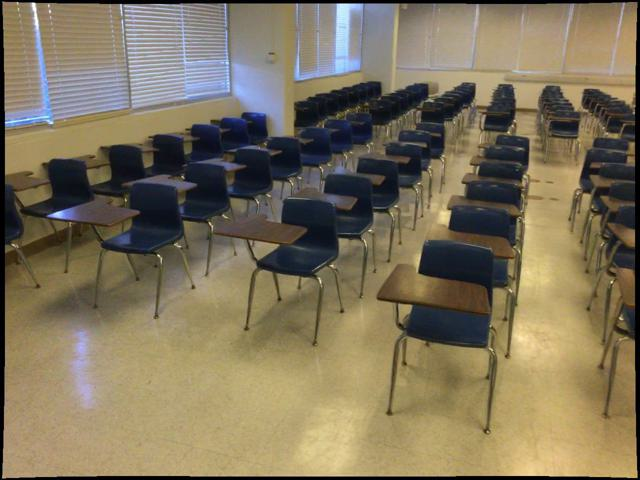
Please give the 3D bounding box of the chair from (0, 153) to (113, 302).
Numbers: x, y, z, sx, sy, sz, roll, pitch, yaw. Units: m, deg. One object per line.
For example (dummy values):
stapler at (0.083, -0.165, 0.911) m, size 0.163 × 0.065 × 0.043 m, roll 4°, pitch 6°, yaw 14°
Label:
chair at (-2.095, -0.140, 4.320) m, size 0.509 × 0.802 × 0.960 m, roll 7°, pitch 21°, yaw 13°

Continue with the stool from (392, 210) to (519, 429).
stool at (0.728, 0.361, 3.100) m, size 0.489 × 0.762 × 0.940 m, roll 7°, pitch 21°, yaw 13°

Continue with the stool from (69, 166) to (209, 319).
stool at (-1.187, -0.020, 3.940) m, size 0.529 × 0.772 × 0.770 m, roll 8°, pitch 21°, yaw 15°

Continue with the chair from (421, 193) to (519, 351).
chair at (0.918, 0.160, 3.540) m, size 0.449 × 0.682 × 0.740 m, roll 7°, pitch 21°, yaw 13°

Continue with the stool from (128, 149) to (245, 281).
stool at (-1.007, -0.231, 4.530) m, size 0.529 × 0.772 × 0.830 m, roll 8°, pitch 21°, yaw 15°

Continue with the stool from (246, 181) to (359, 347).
stool at (-0.100, 0.120, 3.610) m, size 0.479 × 0.802 × 0.630 m, roll 9°, pitch 22°, yaw 18°

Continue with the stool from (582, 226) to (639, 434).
stool at (1.785, 0.461, 3.050) m, size 0.509 × 0.812 × 0.790 m, roll 8°, pitch 21°, yaw 16°

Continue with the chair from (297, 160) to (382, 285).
chair at (0.150, -0.150, 4.220) m, size 0.469 × 0.722 × 0.600 m, roll 7°, pitch 21°, yaw 14°

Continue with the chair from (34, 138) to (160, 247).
chair at (-1.855, -0.441, 4.930) m, size 0.519 × 0.672 × 0.910 m, roll 7°, pitch 21°, yaw 13°
